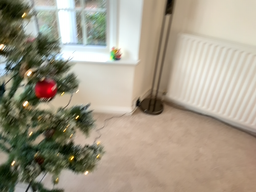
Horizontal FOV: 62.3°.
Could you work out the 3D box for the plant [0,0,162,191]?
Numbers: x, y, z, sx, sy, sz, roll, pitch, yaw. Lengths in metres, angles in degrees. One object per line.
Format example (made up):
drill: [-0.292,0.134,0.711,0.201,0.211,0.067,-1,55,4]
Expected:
plant: [-0.600,-0.100,0.950,1.060,1.770,1.060,23,39,24]
